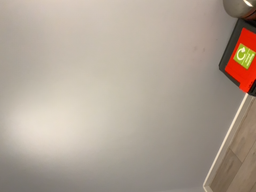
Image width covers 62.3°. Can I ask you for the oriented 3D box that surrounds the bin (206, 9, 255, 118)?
[{"bbox_3d":[0.930,-0.210,1.370,0.440,0.510,0.530,-113,28,-55],"label":"bin"}]
